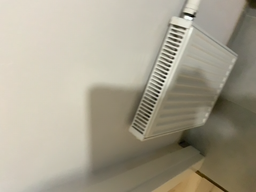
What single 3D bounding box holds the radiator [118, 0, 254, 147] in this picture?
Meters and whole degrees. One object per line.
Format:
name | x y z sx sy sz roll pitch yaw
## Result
radiator | 0.310 -0.120 0.940 0.110 0.670 0.610 30 106 34
